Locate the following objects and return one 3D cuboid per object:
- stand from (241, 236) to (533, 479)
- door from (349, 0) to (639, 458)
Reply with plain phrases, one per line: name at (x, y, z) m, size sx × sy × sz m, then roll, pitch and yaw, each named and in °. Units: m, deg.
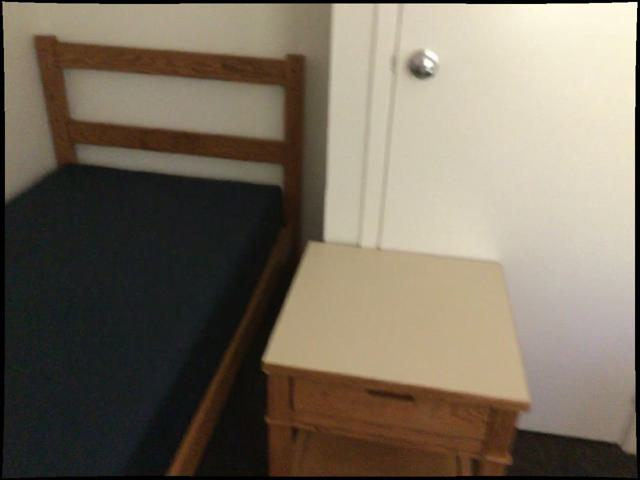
stand at (0.160, 0.411, 1.490) m, size 0.559 × 0.601 × 0.560 m, roll 5°, pitch 29°, yaw 8°
door at (0.588, 0.040, 1.480) m, size 0.978 × 1.263 × 0.070 m, roll 5°, pitch 29°, yaw 7°
